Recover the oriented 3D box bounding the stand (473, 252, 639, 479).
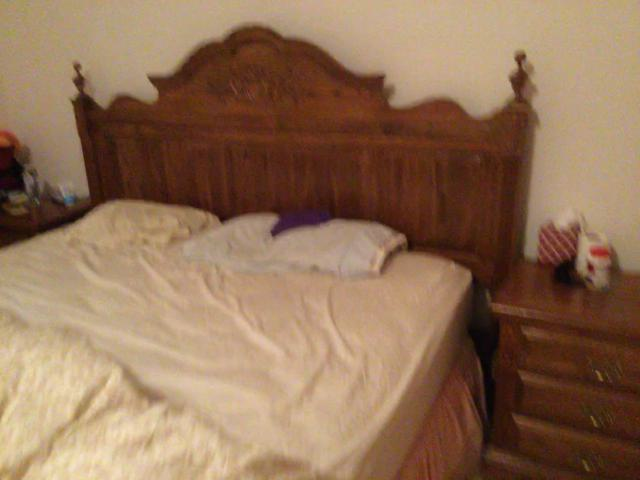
[{"bbox_3d":[0.880,0.460,1.760,0.700,0.700,0.450,5,16,31],"label":"stand"}]

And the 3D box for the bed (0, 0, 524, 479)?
[{"bbox_3d":[-0.710,0.190,1.580,1.960,1.680,2.270,3,13,31],"label":"bed"}]
